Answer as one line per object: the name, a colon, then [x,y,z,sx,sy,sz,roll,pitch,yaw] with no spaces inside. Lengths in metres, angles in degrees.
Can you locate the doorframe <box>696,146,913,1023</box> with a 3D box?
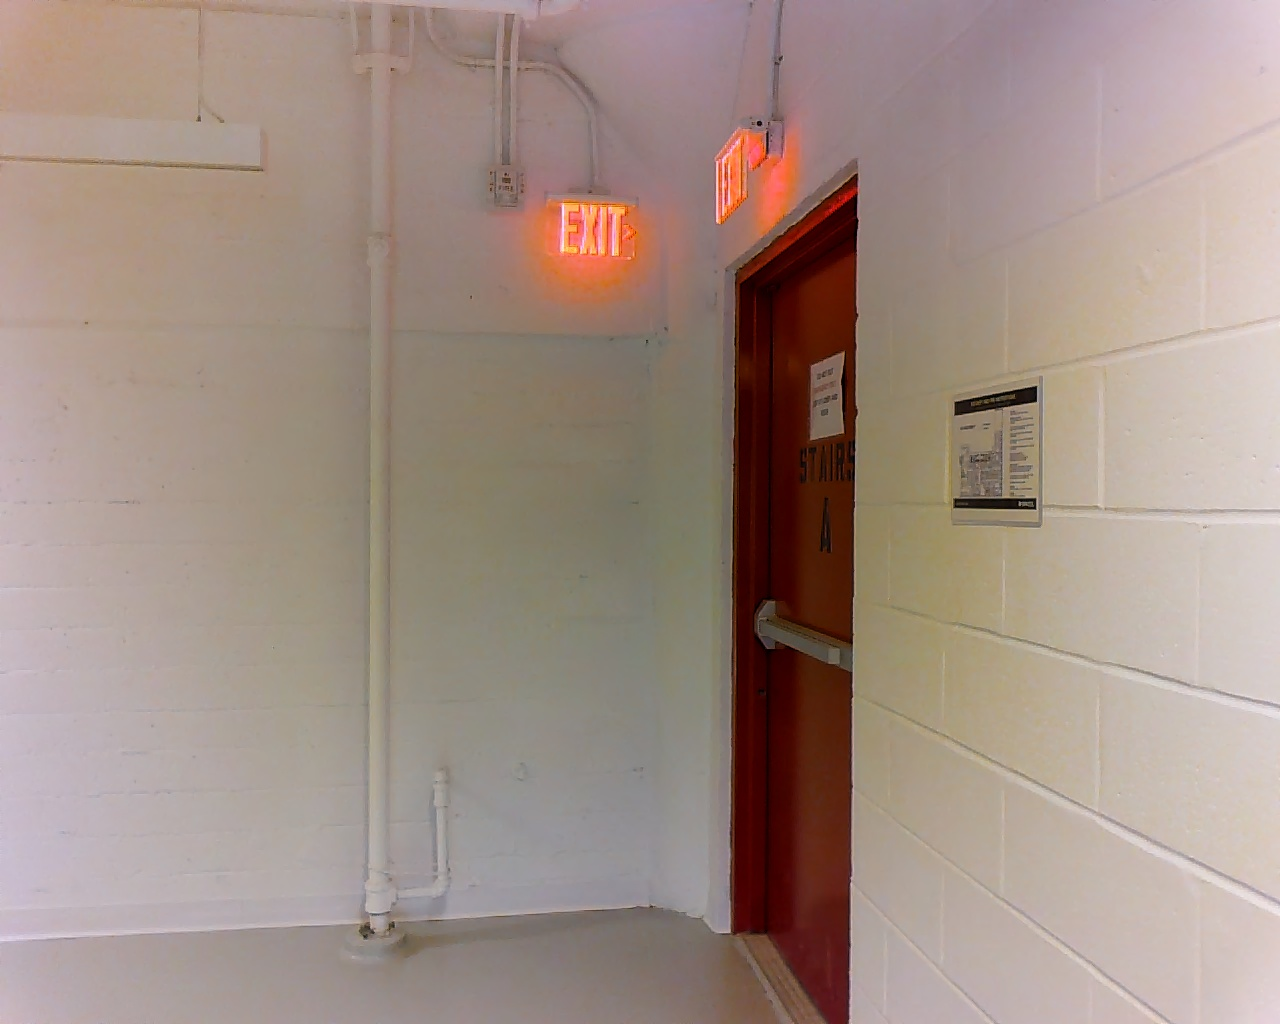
doorframe: [0.390,0.310,2.930,0.170,2.200,1.230,1,0,-10]
